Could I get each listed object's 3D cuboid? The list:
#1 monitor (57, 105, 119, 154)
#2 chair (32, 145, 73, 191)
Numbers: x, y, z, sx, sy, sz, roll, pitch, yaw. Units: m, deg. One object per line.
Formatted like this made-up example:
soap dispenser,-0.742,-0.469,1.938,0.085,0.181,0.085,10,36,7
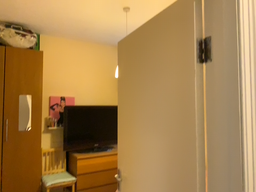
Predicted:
monitor,-0.630,0.530,3.630,1.150,0.740,0.090,2,-3,-40
chair,-1.150,1.230,3.200,0.450,0.850,0.560,1,-3,-35
